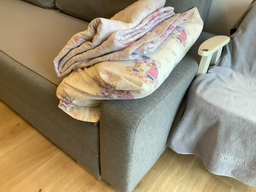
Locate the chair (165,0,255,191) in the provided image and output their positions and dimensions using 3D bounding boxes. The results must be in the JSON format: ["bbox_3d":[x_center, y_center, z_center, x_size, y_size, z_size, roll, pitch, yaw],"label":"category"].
[{"bbox_3d":[0.630,0.020,0.950,0.570,0.740,0.600,28,44,25],"label":"chair"}]
